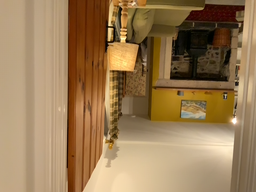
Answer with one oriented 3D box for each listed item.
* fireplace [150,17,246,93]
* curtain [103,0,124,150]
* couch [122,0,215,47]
[{"bbox_3d":[1.670,-0.990,5.410,2.040,1.690,0.880,2,-174,-1],"label":"fireplace"},{"bbox_3d":[-0.170,-0.260,2.590,0.190,1.710,0.470,2,-174,-1],"label":"curtain"},{"bbox_3d":[0.470,-1.270,3.260,1.050,0.770,1.730,2,-175,0],"label":"couch"}]
